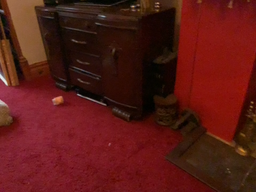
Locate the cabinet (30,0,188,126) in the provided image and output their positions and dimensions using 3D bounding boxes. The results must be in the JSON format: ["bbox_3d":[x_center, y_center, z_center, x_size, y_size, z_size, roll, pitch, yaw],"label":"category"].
[{"bbox_3d":[-0.210,-0.490,2.160,1.310,0.890,0.730,24,41,35],"label":"cabinet"}]
